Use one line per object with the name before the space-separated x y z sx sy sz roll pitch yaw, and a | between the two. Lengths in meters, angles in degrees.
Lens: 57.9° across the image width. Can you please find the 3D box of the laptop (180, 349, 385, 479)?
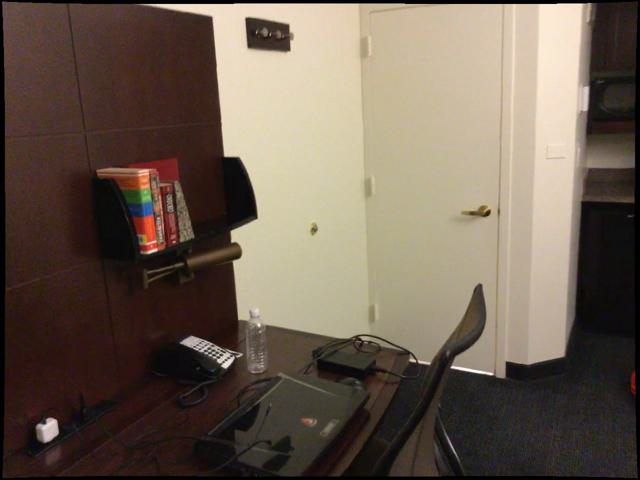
laptop | -0.070 0.450 1.530 0.320 0.070 0.520 4 16 27
